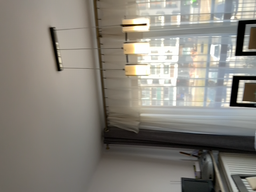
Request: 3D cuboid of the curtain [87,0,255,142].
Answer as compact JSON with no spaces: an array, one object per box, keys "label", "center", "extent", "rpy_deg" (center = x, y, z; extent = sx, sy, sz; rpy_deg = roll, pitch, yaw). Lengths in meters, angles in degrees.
[{"label":"curtain","center":[0.880,-0.610,2.610],"extent":[0.190,2.730,2.450],"rpy_deg":[-62,-28,-69]}]
